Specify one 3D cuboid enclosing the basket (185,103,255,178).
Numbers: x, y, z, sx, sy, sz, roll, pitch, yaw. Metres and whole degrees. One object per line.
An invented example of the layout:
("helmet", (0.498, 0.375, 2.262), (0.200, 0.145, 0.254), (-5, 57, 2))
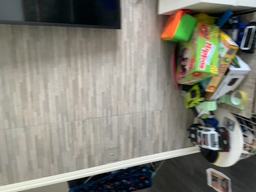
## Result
("basket", (0.730, 0.280, 1.530), (0.380, 0.470, 0.350), (-157, 64, -66))
